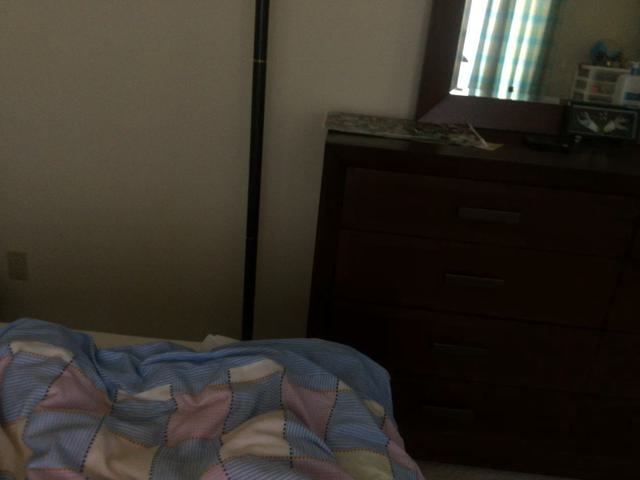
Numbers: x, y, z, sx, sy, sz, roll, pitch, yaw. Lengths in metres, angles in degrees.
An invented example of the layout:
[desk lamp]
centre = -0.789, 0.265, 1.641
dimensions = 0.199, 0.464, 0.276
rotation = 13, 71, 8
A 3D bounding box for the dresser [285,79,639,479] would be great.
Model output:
[dresser]
centre = 0.730, 0.150, 1.680
dimensions = 1.580, 1.060, 0.470
rotation = 4, 19, 1
